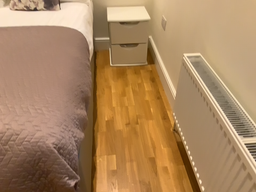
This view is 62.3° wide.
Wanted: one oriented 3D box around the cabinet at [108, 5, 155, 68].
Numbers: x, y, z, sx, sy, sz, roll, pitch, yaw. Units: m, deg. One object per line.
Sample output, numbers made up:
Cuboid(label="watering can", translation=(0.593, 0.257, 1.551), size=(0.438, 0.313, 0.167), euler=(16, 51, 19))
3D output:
Cuboid(label="cabinet", translation=(0.010, -0.650, 2.300), size=(0.430, 0.530, 0.440), euler=(-3, 38, -5))
